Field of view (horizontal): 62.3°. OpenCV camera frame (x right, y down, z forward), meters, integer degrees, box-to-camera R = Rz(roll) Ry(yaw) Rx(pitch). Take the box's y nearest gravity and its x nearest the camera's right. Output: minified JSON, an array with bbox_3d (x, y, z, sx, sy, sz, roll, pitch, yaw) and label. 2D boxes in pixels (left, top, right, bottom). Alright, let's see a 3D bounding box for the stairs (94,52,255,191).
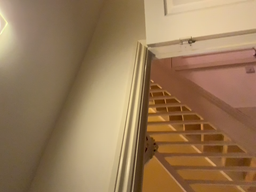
[{"bbox_3d":[1.250,0.540,2.250,1.020,2.800,1.800,67,-156,-47],"label":"stairs"}]
